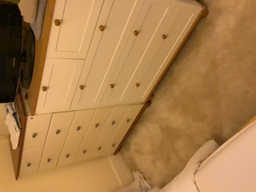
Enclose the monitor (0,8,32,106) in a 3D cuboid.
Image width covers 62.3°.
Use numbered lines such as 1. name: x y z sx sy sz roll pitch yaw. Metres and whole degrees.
1. monitor: -0.810 -0.170 1.140 0.050 0.470 0.660 58 136 32
